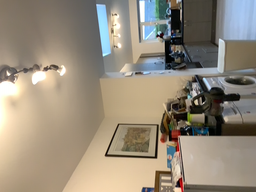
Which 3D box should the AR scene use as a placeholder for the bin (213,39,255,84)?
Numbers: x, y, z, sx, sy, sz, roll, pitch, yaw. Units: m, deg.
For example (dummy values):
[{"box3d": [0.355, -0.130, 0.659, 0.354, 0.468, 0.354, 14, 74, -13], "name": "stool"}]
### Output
[{"box3d": [1.530, -0.460, 2.760, 0.360, 0.710, 0.520, -62, -30, -70], "name": "bin"}]
